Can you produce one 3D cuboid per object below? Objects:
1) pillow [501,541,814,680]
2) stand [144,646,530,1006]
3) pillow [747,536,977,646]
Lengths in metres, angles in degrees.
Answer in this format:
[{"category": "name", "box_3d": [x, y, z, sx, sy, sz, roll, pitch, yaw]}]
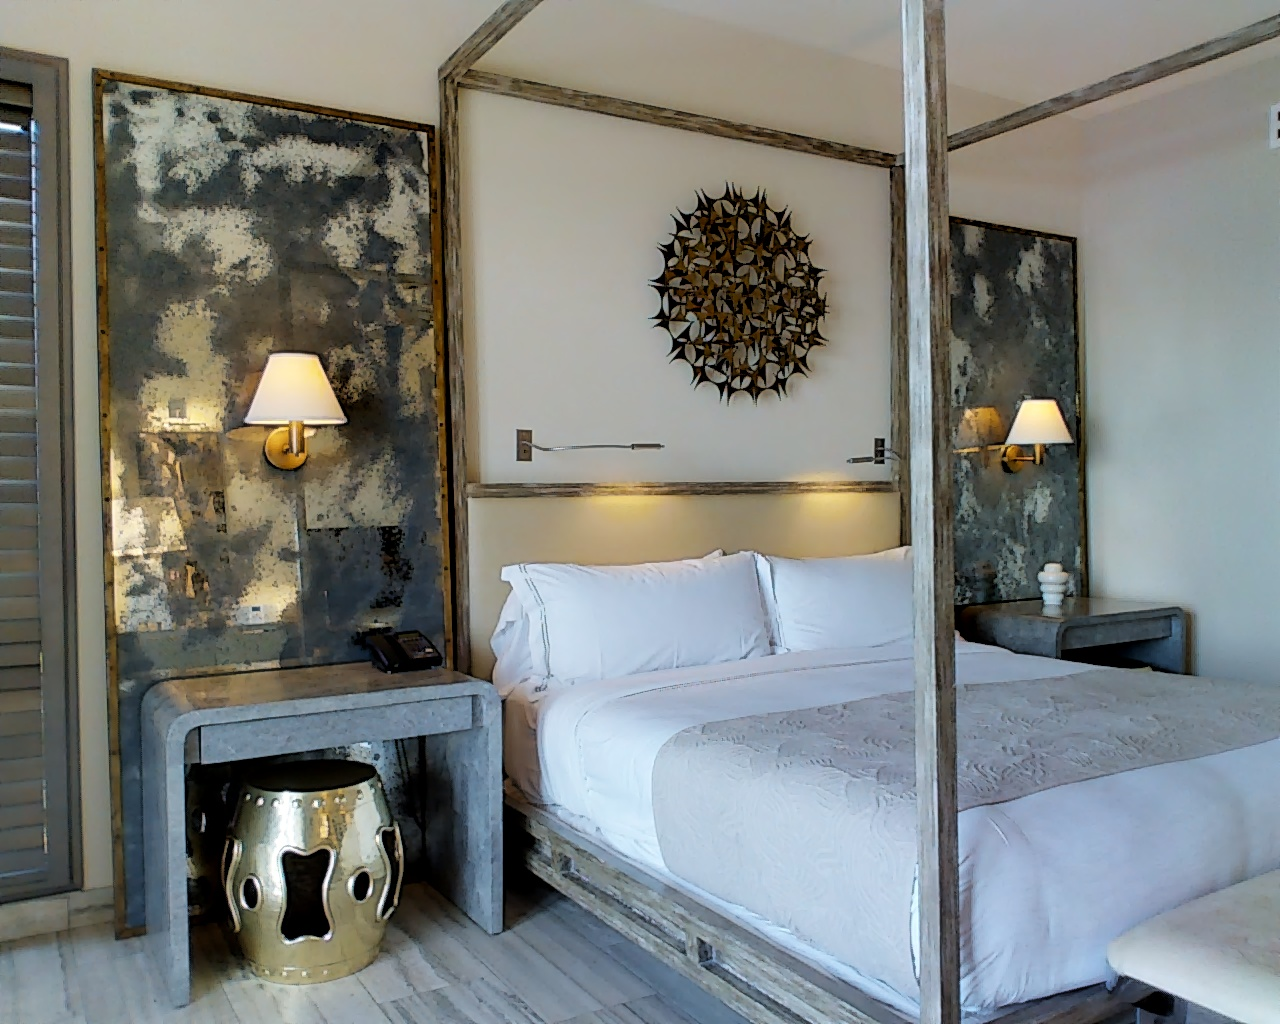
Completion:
[{"category": "pillow", "box_3d": [0.080, 0.310, 3.660, 1.050, 0.370, 0.320, -1, 2, -31]}, {"category": "stand", "box_3d": [-0.860, 0.810, 3.050, 0.920, 0.710, 0.590, -1, 2, -31]}, {"category": "pillow", "box_3d": [0.850, 0.280, 4.070, 0.880, 0.340, 0.300, -1, 2, -31]}]
